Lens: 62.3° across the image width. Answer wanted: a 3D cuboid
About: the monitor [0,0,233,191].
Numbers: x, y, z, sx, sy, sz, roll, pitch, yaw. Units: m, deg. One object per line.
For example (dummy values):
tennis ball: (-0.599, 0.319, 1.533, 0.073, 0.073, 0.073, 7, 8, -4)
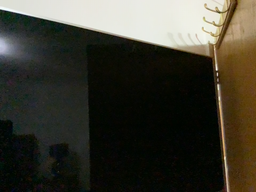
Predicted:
monitor: (0.000, 0.110, 0.720, 1.180, 0.670, 0.050, 2, -8, -37)
